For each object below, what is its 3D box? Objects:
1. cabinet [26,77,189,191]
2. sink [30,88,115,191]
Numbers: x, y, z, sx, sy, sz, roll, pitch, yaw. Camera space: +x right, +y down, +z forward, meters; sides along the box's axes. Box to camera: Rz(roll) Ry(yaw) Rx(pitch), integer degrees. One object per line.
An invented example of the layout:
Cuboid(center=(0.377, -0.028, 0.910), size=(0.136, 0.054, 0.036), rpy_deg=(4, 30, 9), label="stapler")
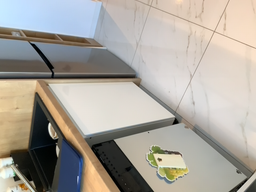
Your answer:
Cuboid(center=(-0.150, 0.260, 1.500), size=(0.550, 0.870, 0.590), rpy_deg=(44, 124, 37), label="cabinet")
Cuboid(center=(-0.370, 0.280, 1.280), size=(0.470, 0.240, 0.460), rpy_deg=(45, 125, 36), label="sink")
